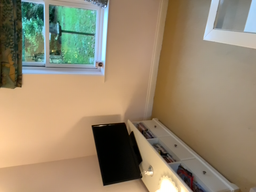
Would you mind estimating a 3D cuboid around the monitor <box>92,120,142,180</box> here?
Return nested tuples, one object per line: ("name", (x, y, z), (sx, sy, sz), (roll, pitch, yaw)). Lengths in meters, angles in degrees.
("monitor", (-0.150, 0.610, 2.530), (0.050, 0.440, 0.700), (114, 146, -45))
